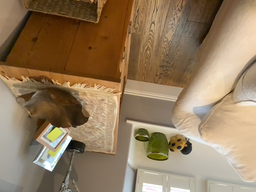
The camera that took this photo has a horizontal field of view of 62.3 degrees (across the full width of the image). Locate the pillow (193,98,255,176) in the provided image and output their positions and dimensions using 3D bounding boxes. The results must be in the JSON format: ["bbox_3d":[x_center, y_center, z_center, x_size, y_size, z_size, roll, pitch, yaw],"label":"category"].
[{"bbox_3d":[0.640,0.250,1.210,0.430,0.300,0.390,-9,144,28],"label":"pillow"}]
